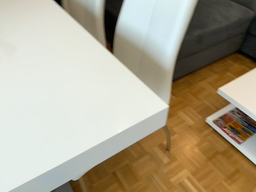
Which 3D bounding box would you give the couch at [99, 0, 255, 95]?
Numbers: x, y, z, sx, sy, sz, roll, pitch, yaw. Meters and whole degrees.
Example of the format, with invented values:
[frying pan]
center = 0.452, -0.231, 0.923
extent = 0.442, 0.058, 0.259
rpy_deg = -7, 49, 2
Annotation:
[couch]
center = 0.390, -0.770, 1.810
extent = 0.930, 0.840, 0.980
rpy_deg = -24, 49, -23
